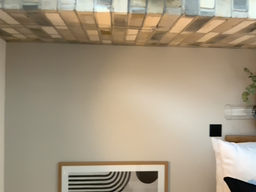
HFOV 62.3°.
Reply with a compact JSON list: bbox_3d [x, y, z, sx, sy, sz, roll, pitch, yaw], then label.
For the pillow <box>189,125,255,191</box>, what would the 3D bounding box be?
[{"bbox_3d":[0.690,0.580,1.200,0.200,0.420,0.720,140,112,-85],"label":"pillow"}]
